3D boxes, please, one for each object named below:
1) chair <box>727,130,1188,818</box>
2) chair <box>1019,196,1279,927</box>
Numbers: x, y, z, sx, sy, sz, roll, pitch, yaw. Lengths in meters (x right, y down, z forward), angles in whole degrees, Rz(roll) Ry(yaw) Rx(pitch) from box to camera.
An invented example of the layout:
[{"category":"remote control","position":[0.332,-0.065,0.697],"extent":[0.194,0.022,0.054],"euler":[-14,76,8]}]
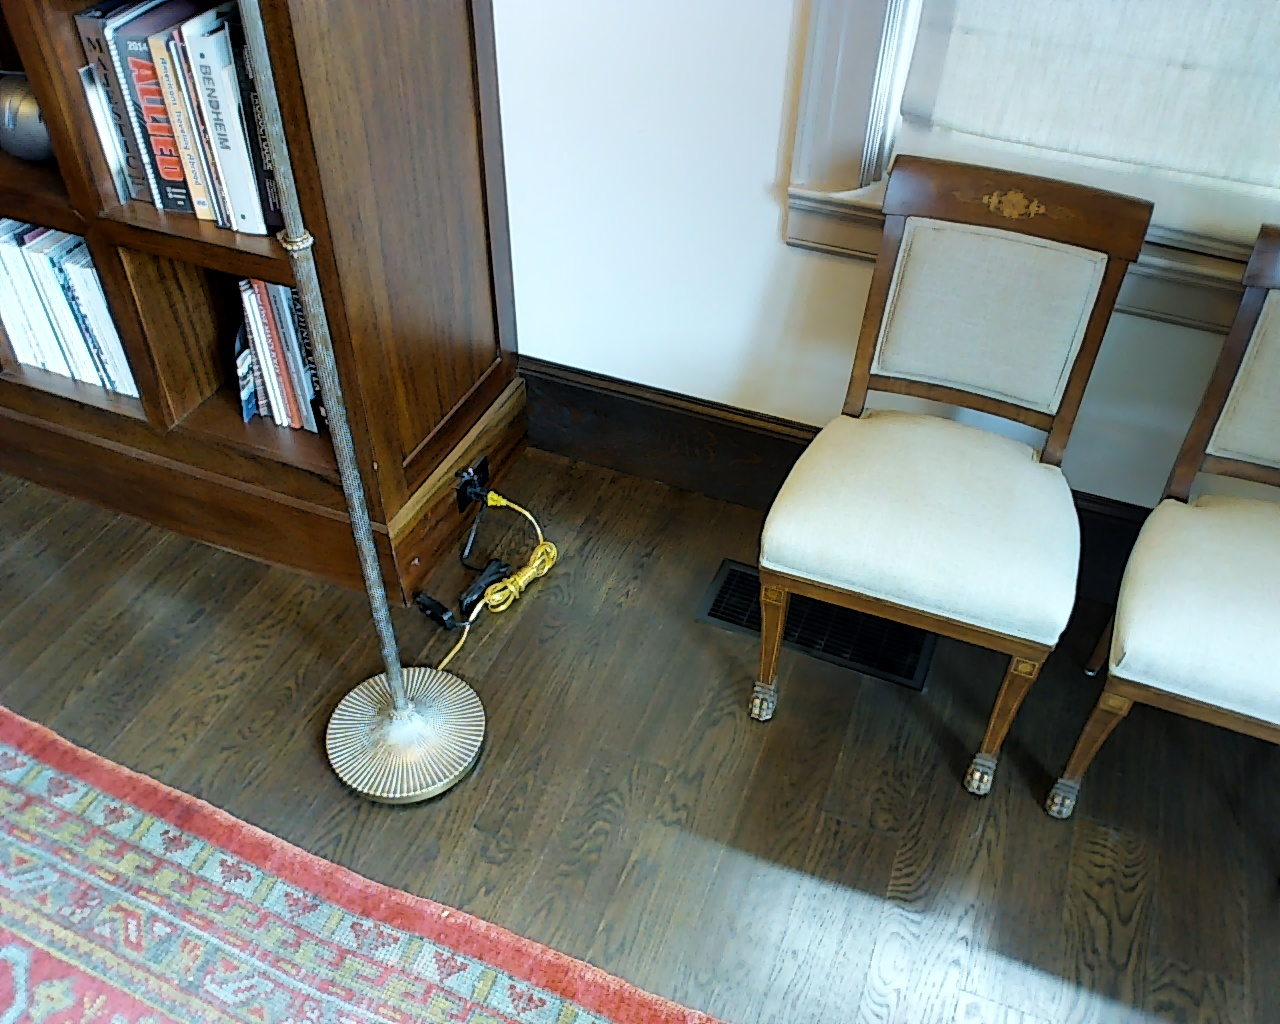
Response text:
[{"category":"chair","position":[0.470,-0.050,1.700],"extent":[0.450,0.840,0.560],"euler":[16,44,16]},{"category":"chair","position":[0.940,0.100,1.550],"extent":[0.490,0.840,0.560],"euler":[16,44,16]}]
